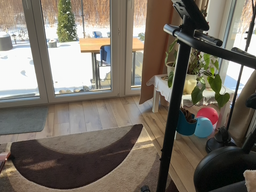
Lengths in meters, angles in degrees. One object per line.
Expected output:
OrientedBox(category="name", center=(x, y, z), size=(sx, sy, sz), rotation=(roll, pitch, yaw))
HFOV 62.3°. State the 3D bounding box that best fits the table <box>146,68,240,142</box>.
OrientedBox(category="table", center=(0.640, 0.050, 2.280), size=(0.640, 0.450, 0.650), rotation=(-8, 30, -18))
